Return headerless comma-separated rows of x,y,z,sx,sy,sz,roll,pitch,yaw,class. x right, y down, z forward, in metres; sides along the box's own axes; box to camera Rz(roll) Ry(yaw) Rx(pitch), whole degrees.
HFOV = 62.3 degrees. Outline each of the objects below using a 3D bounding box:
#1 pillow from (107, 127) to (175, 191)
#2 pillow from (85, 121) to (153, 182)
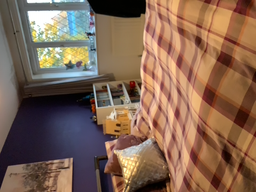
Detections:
0.080,0.480,1.690,0.460,0.350,0.170,43,137,51,pillow
-0.090,0.500,2.050,0.450,0.460,0.190,28,124,36,pillow
